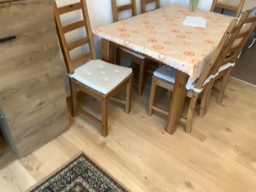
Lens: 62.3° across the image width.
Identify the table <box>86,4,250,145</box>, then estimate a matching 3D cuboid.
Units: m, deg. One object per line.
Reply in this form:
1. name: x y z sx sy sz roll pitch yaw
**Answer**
1. table: 0.470 -0.410 2.340 1.010 0.760 1.500 28 42 29
